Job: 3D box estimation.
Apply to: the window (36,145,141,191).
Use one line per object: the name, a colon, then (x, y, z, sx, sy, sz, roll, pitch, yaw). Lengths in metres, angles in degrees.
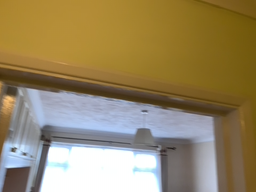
window: (-0.780, 1.870, 4.580, 2.180, 1.390, 0.040, 9, -19, -15)
